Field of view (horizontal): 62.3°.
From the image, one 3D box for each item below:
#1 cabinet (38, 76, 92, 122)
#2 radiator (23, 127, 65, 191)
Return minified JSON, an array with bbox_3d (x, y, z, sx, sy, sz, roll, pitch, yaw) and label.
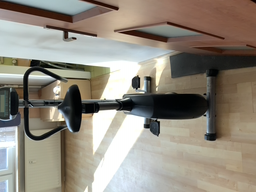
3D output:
[{"bbox_3d":[-1.080,0.090,3.490,1.220,0.450,0.620,-8,84,54],"label":"cabinet"},{"bbox_3d":[-1.500,1.140,3.820,0.190,0.680,1.100,-1,89,54],"label":"radiator"}]
